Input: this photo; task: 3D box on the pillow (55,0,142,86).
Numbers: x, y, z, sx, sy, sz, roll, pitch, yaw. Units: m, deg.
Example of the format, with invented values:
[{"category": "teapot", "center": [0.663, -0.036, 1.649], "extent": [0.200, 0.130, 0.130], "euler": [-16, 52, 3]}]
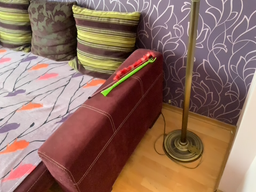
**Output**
[{"category": "pillow", "center": [-0.210, -0.400, 1.600], "extent": [0.570, 0.460, 0.200], "euler": [21, 48, 19]}]

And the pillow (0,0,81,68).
[{"category": "pillow", "center": [-0.730, -0.560, 1.830], "extent": [0.460, 0.480, 0.270], "euler": [16, 46, 24]}]
